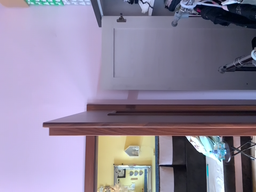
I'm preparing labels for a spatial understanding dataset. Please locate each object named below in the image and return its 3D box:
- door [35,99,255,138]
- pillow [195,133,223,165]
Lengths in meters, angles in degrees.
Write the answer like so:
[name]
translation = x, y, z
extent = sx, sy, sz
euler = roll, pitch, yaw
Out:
[door]
translation = 0.780, 0.100, 1.090
extent = 0.810, 2.160, 0.120
euler = 90, -179, -87
[pillow]
translation = 1.260, 0.810, 3.350
extent = 0.570, 0.230, 0.390
euler = 90, -179, -87
